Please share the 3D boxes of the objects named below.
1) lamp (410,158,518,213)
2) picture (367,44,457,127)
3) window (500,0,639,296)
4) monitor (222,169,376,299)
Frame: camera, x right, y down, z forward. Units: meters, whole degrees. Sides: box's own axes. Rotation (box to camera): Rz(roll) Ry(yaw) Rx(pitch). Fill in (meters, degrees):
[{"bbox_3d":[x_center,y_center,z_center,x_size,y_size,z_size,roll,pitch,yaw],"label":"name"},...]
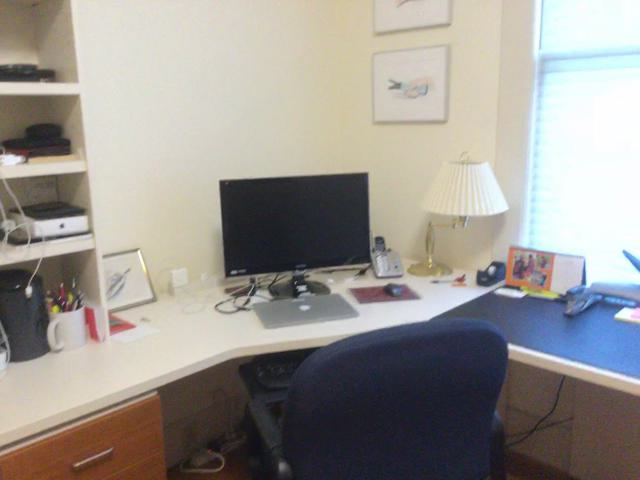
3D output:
[{"bbox_3d":[0.530,-0.210,2.130,0.270,0.170,0.290,11,14,41],"label":"lamp"},{"bbox_3d":[0.370,-0.630,2.390,0.380,0.310,0.060,11,14,41],"label":"picture"},{"bbox_3d":[1.140,-0.550,1.690,1.100,1.490,0.130,11,14,41],"label":"window"},{"bbox_3d":[-0.080,-0.030,2.100,0.520,0.430,0.170,-1,11,-18],"label":"monitor"}]
